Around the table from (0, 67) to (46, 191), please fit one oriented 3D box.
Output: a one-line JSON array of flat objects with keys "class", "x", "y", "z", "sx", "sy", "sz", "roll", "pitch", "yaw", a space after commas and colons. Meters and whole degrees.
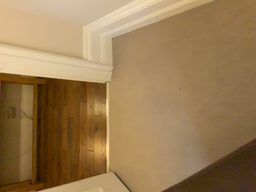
[{"class": "table", "x": -1.440, "y": 0.440, "z": 2.560, "sx": 0.360, "sy": 0.750, "sz": 1.500, "roll": -5, "pitch": 85, "yaw": 45}]
